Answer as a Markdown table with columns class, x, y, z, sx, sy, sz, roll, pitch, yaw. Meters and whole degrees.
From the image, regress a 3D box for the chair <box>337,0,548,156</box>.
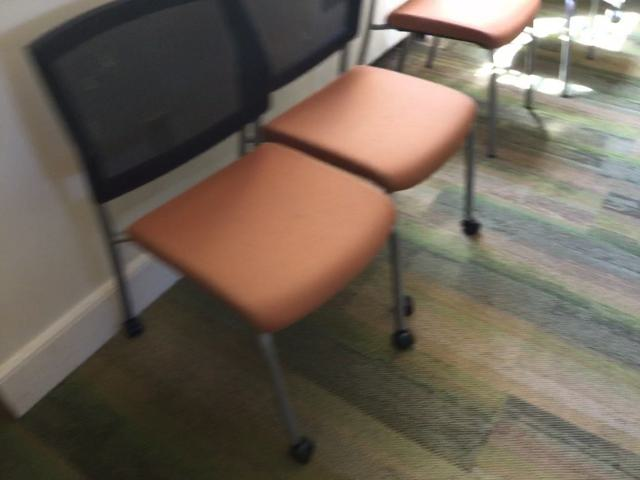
| class | x | y | z | sx | sy | sz | roll | pitch | yaw |
| --- | --- | --- | --- | --- | --- | --- | --- | --- | --- |
| chair | 0.450 | -0.850 | 2.090 | 0.610 | 0.840 | 0.490 | 19 | 47 | 26 |

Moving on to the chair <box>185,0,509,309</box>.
| class | x | y | z | sx | sy | sz | roll | pitch | yaw |
| --- | --- | --- | --- | --- | --- | --- | --- | --- | --- |
| chair | 0.090 | -0.360 | 1.600 | 0.620 | 0.810 | 0.480 | 24 | 49 | 30 |

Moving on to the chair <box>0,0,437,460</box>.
| class | x | y | z | sx | sy | sz | roll | pitch | yaw |
| --- | --- | --- | --- | --- | --- | --- | --- | --- | --- |
| chair | -0.150 | -0.080 | 1.310 | 0.590 | 0.820 | 0.560 | 21 | 48 | 28 |
